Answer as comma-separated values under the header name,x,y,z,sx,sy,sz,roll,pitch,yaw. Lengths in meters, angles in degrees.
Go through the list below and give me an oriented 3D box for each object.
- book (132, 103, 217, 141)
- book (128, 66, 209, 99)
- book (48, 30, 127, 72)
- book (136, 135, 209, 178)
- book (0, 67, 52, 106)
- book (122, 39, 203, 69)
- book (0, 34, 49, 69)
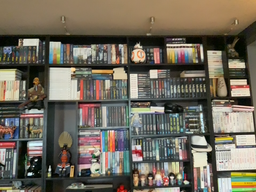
name,x,y,z,sx,sy,sz,roll,pitch,yaw
book,0.460,0.270,2.220,0.820,0.360,0.240,-1,-8,0
book,0.410,-0.140,2.250,0.790,0.300,0.260,0,-8,-4
book,-0.410,-0.460,2.240,0.770,0.360,0.260,0,-8,-4
book,0.430,0.600,2.170,0.650,0.360,0.300,0,-8,-4
book,-1.220,-0.090,2.160,0.780,0.350,0.290,0,-8,-4
book,0.350,-0.440,2.270,0.810,0.250,0.230,0,-8,-4
book,-1.270,-0.450,2.170,0.820,0.300,0.220,0,-8,-4
